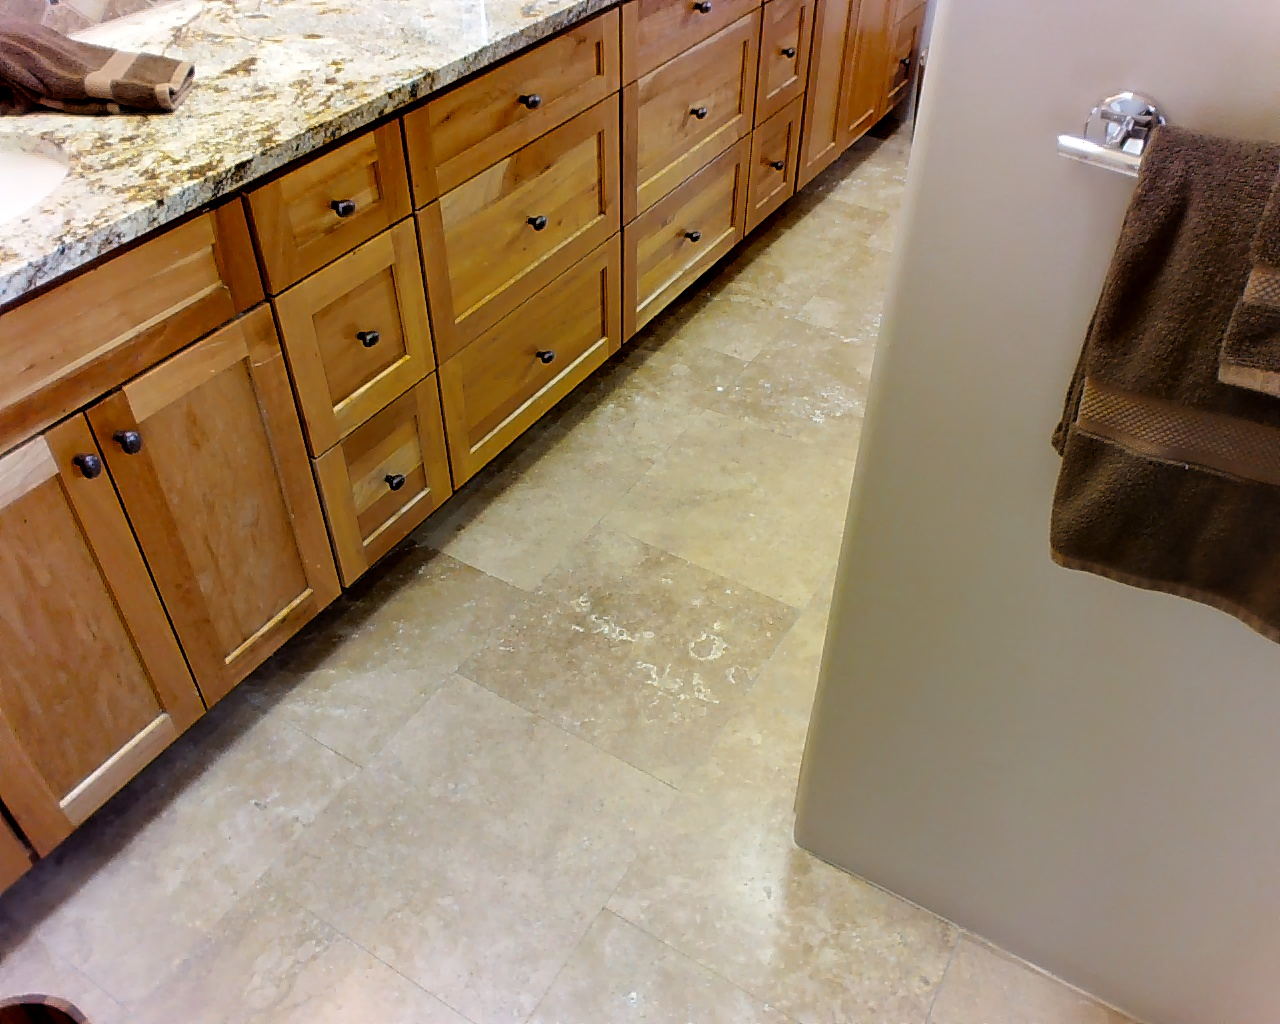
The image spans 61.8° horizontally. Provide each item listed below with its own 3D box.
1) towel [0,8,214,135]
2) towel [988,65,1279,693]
[{"bbox_3d":[-0.790,-0.600,1.450,0.340,0.100,0.190,1,41,1],"label":"towel"},{"bbox_3d":[0.470,-0.080,0.800,0.290,0.400,0.150,22,46,23],"label":"towel"}]
